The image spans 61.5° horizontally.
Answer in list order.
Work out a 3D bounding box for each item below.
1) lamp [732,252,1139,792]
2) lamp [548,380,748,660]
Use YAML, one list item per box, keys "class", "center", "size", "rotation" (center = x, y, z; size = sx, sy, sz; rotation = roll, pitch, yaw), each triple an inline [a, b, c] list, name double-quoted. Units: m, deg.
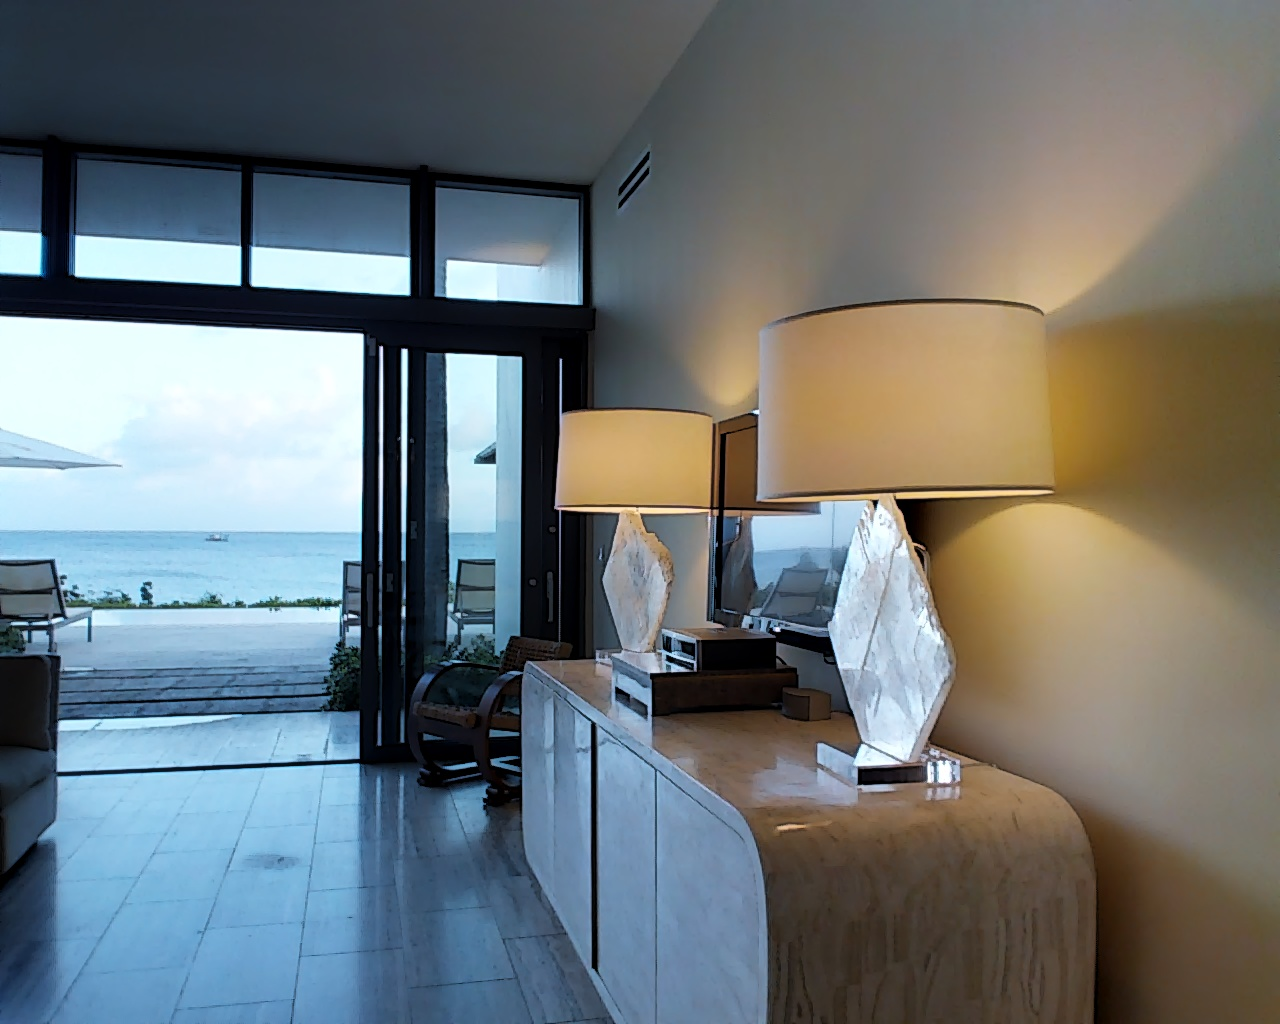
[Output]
- class: "lamp"
  center: [0.550, 0.020, 2.140]
  size: [0.570, 0.900, 0.570]
  rotation: [0, -1, -14]
- class: "lamp"
  center: [0.010, 0.030, 3.850]
  size: [0.570, 0.910, 0.590]
  rotation: [0, -1, -16]
